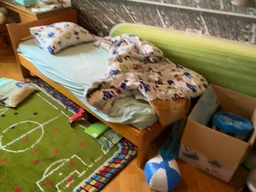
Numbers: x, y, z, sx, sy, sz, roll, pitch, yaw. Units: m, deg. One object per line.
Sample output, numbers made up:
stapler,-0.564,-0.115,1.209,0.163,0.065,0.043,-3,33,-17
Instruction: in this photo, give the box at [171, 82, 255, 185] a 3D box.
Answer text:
box,0.710,0.250,1.690,0.400,0.380,0.660,26,42,29
